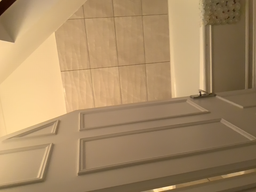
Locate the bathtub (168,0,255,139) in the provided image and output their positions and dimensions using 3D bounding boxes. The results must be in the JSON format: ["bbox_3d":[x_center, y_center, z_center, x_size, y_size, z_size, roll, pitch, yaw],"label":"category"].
[{"bbox_3d":[0.820,-0.510,2.100,0.670,0.580,1.640,-139,43,-75],"label":"bathtub"}]
